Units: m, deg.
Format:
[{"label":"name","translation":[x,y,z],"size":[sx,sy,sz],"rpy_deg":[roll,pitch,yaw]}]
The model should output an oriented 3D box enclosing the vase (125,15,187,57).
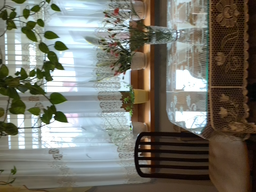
[{"label":"vase","translation":[0.180,-0.410,1.510],"size":[0.310,0.370,0.210],"rpy_deg":[-169,79,-84]}]
